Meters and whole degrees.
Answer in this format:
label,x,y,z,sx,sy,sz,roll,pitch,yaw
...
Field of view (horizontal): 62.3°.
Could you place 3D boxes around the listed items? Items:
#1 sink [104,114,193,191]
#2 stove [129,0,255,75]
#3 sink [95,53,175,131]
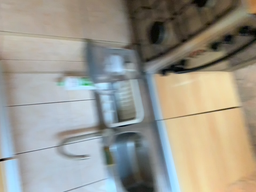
label,x,y,z,sx,sy,sz,roll,pitch,yaw
sink,0.080,0.340,1.190,0.460,0.180,0.380,-24,75,54
stove,0.200,-0.450,0.860,0.480,0.120,0.600,-24,75,54
sink,0.010,0.000,1.250,0.460,0.180,0.340,-24,75,54
